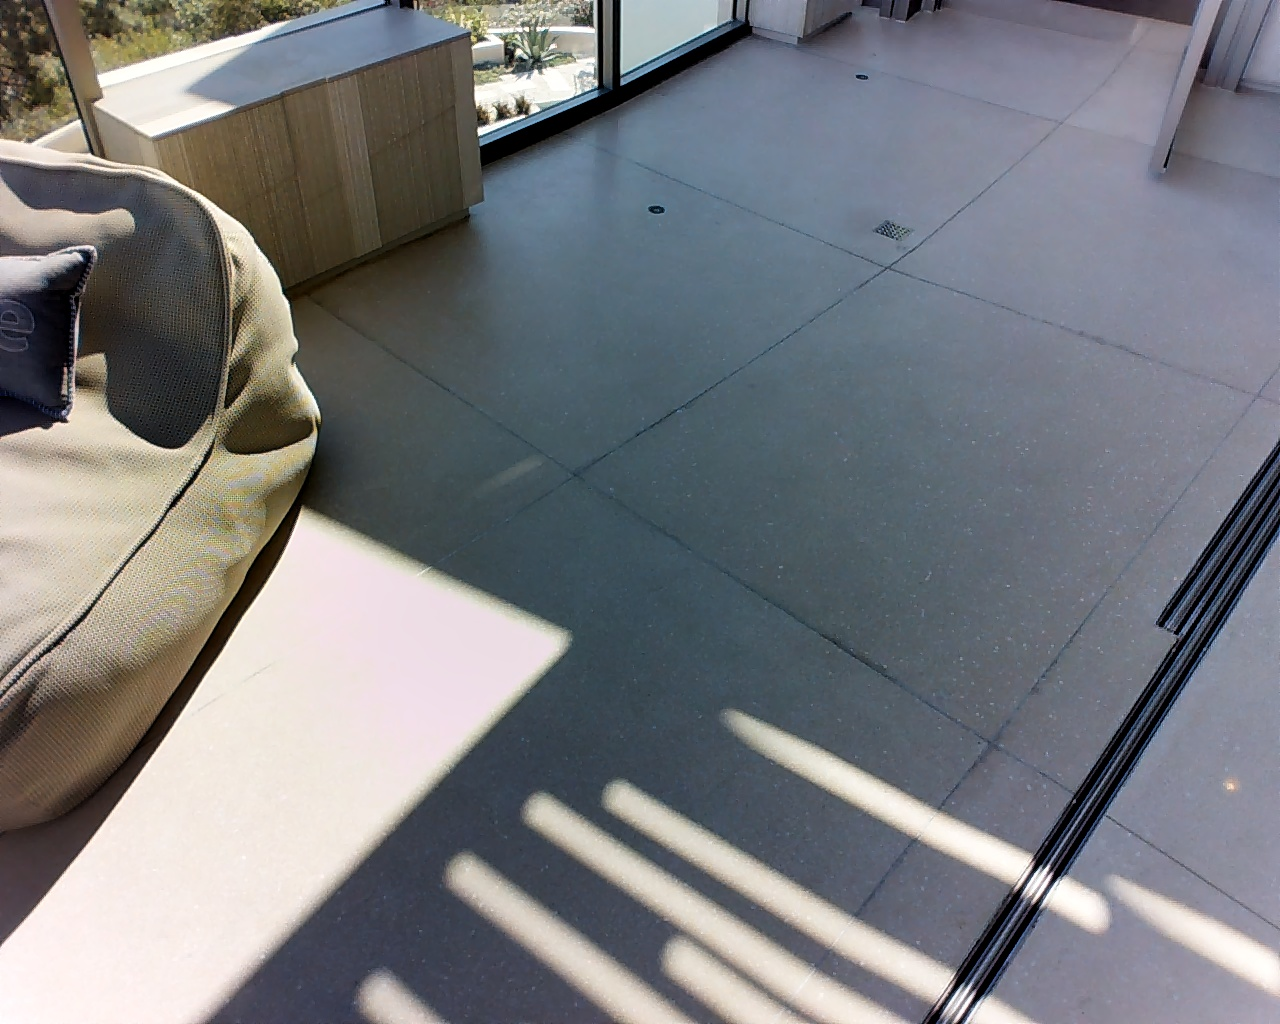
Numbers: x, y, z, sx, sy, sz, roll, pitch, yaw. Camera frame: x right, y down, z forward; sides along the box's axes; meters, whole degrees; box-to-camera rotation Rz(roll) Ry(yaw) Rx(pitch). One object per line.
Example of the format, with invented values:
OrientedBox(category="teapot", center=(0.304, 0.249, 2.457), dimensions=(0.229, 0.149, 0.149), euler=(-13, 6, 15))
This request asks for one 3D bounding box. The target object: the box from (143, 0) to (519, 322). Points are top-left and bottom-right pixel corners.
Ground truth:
OrientedBox(category="box", center=(-0.790, -1.010, 2.970), dimensions=(0.350, 0.590, 0.870), euler=(32, 50, 29))
